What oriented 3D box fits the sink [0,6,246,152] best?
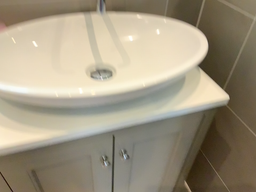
[{"bbox_3d":[-0.070,-0.100,0.560,0.580,0.110,0.370,-11,44,-18],"label":"sink"}]
